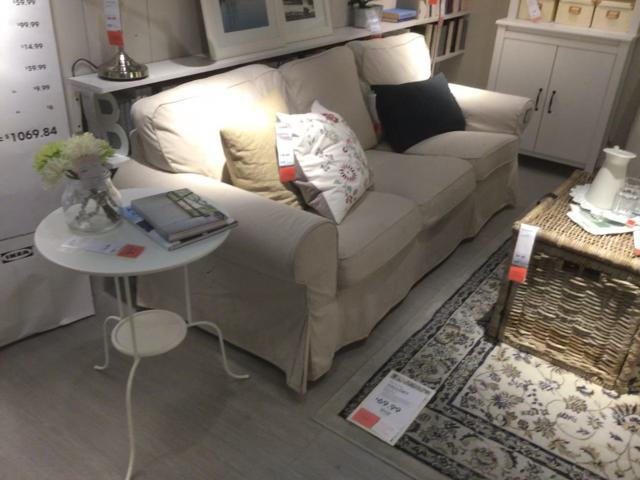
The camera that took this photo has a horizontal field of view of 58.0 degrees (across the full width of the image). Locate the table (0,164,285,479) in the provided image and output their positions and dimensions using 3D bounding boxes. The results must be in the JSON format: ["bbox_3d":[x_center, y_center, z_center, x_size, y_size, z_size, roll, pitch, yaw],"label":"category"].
[{"bbox_3d":[-0.490,0.200,1.710,0.530,0.620,0.520,21,35,35],"label":"table"}]

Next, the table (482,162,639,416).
[{"bbox_3d":[1.030,0.120,2.110,0.520,0.520,0.730,21,35,35],"label":"table"}]
